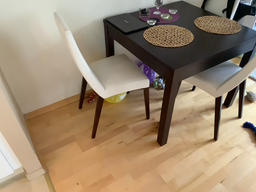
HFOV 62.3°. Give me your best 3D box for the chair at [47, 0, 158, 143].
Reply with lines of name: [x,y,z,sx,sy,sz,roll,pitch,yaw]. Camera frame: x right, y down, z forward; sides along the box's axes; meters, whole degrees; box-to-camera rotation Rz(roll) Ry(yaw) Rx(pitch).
chair: [-0.190,-0.180,1.710,0.600,0.920,0.480,-17,45,-18]

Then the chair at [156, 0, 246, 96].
chair: [0.670,-0.530,2.160,0.550,0.860,0.430,-18,45,-19]

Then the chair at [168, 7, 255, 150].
chair: [0.780,-0.140,1.720,0.490,0.860,0.610,-32,51,-31]
